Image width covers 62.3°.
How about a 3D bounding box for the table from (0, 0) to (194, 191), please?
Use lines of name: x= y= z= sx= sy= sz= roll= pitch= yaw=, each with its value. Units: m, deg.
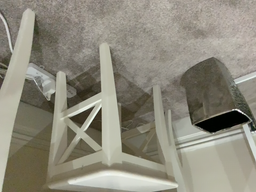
table: x=-0.200 y=0.300 z=0.870 sx=0.530 sy=0.760 sz=1.010 roll=-24 pitch=145 yaw=30
